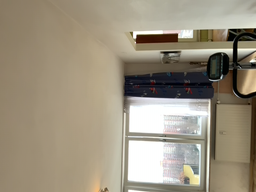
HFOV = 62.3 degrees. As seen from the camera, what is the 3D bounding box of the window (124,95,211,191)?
[{"bbox_3d":[0.740,0.940,4.210,0.220,1.610,1.870,-24,-65,-80],"label":"window"}]
